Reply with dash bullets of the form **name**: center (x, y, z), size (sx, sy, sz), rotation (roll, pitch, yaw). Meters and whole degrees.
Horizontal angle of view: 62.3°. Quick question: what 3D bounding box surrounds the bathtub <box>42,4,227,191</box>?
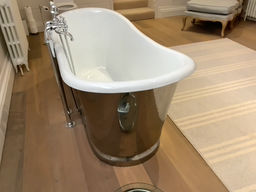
- **bathtub**: center (-0.180, -0.190, 1.660), size (0.710, 0.700, 1.620), rotation (-12, 35, -18)
